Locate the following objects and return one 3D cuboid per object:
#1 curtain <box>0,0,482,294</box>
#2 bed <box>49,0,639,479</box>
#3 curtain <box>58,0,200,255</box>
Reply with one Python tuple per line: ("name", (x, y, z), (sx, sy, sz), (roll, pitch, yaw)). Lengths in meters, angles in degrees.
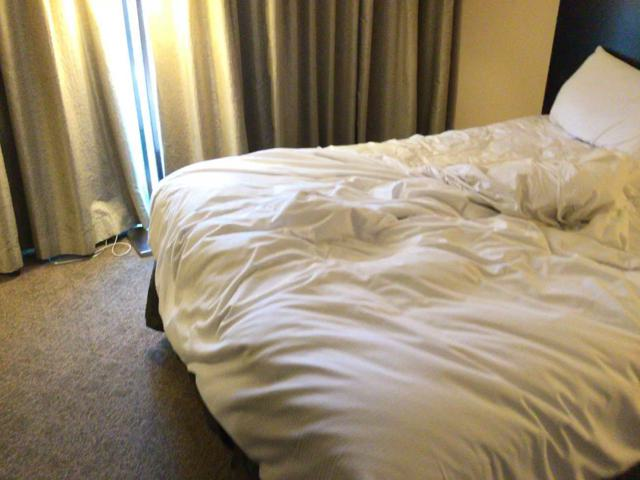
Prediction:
("curtain", (-0.810, -0.820, 2.750), (3.530, 1.790, 0.520), (-12, 27, -24))
("bed", (0.550, -0.220, 1.770), (2.260, 1.620, 1.820), (-12, 27, -24))
("curtain", (-0.930, -1.070, 2.690), (0.510, 2.350, 0.190), (-12, 27, -24))
